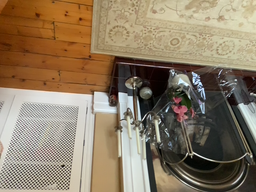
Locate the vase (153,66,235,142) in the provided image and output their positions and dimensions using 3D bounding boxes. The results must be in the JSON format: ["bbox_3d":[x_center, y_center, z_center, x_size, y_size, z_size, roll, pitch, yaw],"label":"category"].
[{"bbox_3d":[0.490,0.070,1.730,0.410,0.470,0.380,3,140,-11],"label":"vase"}]

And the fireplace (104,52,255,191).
[{"bbox_3d":[0.660,0.550,1.450,1.570,1.630,0.620,4,140,-11],"label":"fireplace"}]
